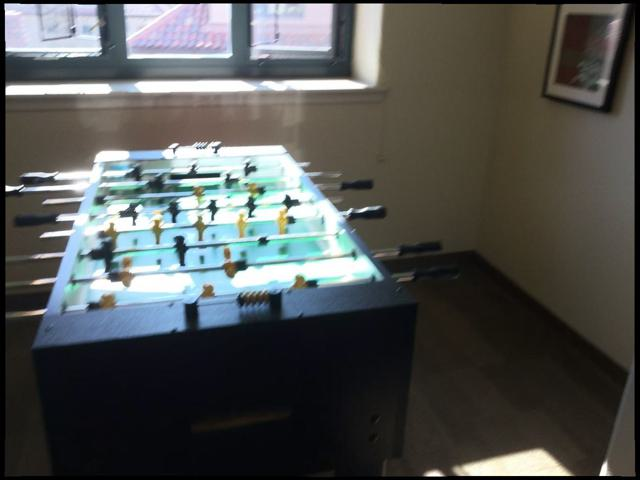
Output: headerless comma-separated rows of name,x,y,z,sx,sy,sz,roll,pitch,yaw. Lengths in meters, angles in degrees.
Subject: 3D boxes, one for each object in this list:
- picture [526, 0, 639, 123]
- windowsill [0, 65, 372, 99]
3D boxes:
picture,1.088,-0.792,2.450,0.050,0.481,0.490,-5,24,-16
windowsill,-0.748,-0.782,2.830,1.976,0.080,0.450,-5,24,-16
